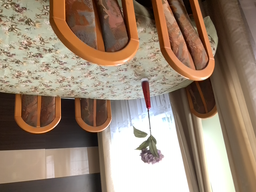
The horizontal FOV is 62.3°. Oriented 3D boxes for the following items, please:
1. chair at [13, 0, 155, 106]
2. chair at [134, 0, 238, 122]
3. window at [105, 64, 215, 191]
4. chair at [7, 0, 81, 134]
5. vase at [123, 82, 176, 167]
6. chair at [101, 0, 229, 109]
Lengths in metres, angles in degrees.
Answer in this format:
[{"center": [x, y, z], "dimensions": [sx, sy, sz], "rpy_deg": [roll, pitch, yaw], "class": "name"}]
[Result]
[{"center": [-0.260, -0.520, 1.010], "dimensions": [0.410, 1.020, 0.470], "rpy_deg": [5, 158, -34], "class": "chair"}, {"center": [0.450, -0.330, 1.840], "dimensions": [0.520, 1.020, 0.450], "rpy_deg": [4, 159, -30], "class": "chair"}, {"center": [0.240, 0.820, 2.590], "dimensions": [0.220, 1.860, 1.610], "rpy_deg": [4, 159, -31], "class": "window"}, {"center": [-0.640, -0.280, 1.580], "dimensions": [0.400, 1.030, 0.470], "rpy_deg": [3, 159, -29], "class": "chair"}, {"center": [0.140, 0.200, 1.510], "dimensions": [0.230, 0.550, 0.180], "rpy_deg": [5, 158, -31], "class": "vase"}, {"center": [0.130, -0.490, 1.250], "dimensions": [0.390, 1.030, 0.470], "rpy_deg": [4, 159, -30], "class": "chair"}]
